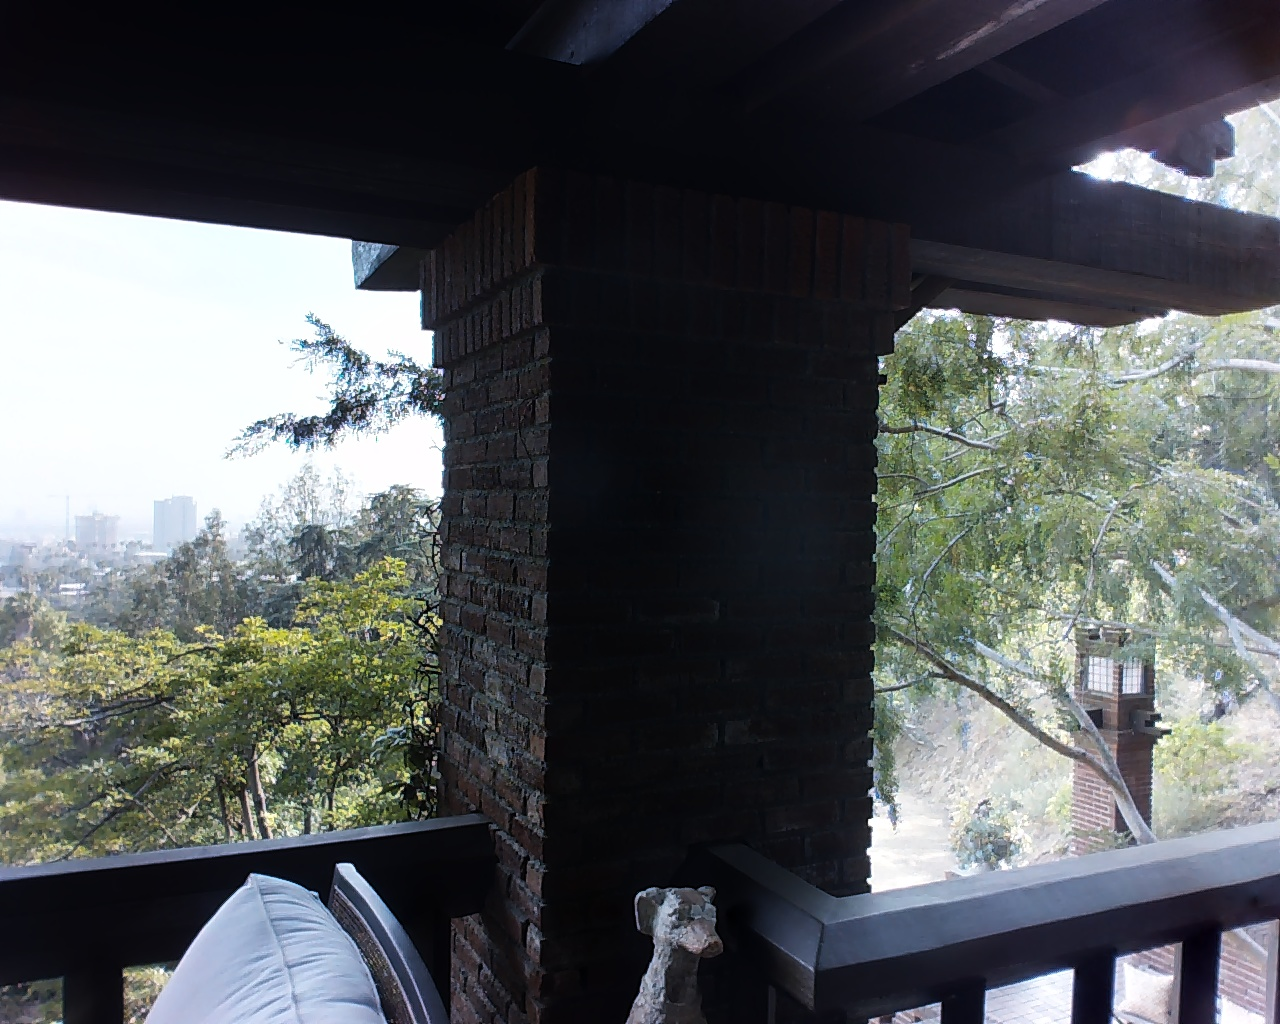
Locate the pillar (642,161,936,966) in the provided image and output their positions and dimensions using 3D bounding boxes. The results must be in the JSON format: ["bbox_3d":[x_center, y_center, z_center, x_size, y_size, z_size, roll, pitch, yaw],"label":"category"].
[{"bbox_3d":[0.380,0.120,2.630,0.760,1.810,0.100,1,0,-25],"label":"pillar"}]
